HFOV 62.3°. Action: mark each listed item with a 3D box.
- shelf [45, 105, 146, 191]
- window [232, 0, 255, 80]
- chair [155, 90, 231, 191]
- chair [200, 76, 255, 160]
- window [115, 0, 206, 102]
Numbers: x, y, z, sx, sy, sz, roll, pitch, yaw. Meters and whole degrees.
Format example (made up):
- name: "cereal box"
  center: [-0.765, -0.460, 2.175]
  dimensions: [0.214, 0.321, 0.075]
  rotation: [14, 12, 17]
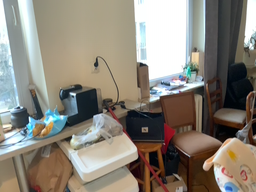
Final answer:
- name: "shelf"
  center: [-0.230, 0.600, 1.590]
  dimensions: [0.480, 0.880, 0.550]
  rotation: [-14, 19, -35]
- name: "window"
  center: [2.290, -1.280, 3.800]
  dimensions: [1.220, 1.810, 0.170]
  rotation: [-16, 20, -39]
- name: "chair"
  center: [0.610, 0.450, 2.110]
  dimensions: [0.450, 0.870, 0.520]
  rotation: [-11, 17, -26]
- name: "chair"
  center: [1.240, 0.230, 2.620]
  dimensions: [0.430, 0.860, 0.490]
  rotation: [-16, 20, -38]
- name: "window"
  center: [0.430, -0.810, 2.400]
  dimensions: [1.240, 1.520, 0.190]
  rotation: [-14, 19, -36]
